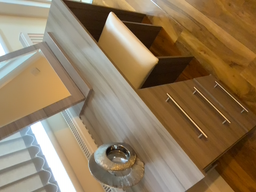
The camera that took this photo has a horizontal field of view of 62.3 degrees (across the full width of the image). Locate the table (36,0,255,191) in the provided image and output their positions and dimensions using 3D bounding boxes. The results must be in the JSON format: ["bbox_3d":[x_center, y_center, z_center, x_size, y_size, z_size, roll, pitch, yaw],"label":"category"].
[{"bbox_3d":[0.070,-0.050,1.330,1.180,0.760,0.510,51,130,26],"label":"table"}]
